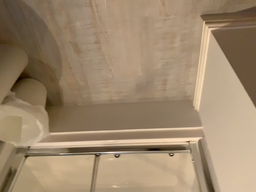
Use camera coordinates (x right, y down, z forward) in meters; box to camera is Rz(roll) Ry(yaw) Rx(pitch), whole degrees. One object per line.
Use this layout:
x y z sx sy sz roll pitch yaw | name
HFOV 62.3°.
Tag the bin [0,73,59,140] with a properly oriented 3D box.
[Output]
-0.550 0.050 1.090 0.270 0.270 0.210 -1 132 3 | bin
